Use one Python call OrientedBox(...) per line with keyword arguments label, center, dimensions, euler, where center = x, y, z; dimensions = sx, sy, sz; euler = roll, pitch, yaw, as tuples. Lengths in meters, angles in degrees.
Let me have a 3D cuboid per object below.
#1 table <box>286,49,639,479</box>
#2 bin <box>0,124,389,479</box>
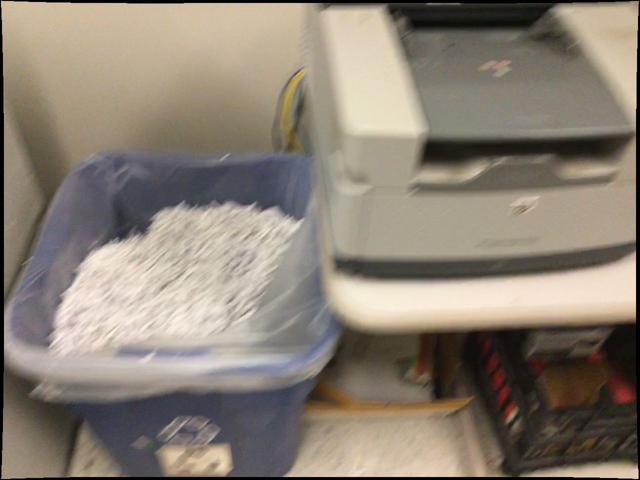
OrientedBox(label="table", center=(0.738, 0.090, 1.260), dimensions=(1.566, 0.711, 0.731), euler=(-3, 46, -5))
OrientedBox(label="bin", center=(-0.239, 0.170, 1.240), dimensions=(0.619, 0.581, 0.571), euler=(-3, 46, -5))
